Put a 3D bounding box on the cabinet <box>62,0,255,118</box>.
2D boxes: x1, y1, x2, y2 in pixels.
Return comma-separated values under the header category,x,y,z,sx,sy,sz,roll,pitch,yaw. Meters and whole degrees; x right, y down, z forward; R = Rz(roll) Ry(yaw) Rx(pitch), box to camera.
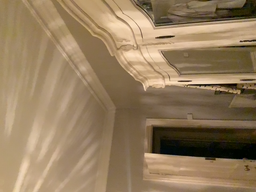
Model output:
category,x,y,z,sx,sy,sz,roll,pitch,yaw
cabinet,0.800,-0.810,1.070,2.950,2.220,0.800,68,-155,-61
